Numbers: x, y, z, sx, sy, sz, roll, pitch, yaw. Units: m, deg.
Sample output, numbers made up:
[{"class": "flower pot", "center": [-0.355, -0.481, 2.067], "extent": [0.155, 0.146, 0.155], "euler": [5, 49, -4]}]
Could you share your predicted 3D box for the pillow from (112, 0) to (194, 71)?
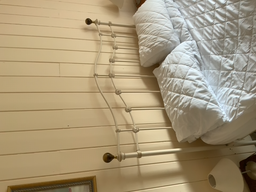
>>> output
[{"class": "pillow", "center": [0.250, -0.660, 1.970], "extent": [0.710, 0.470, 0.320], "euler": [-58, -4, -38]}]

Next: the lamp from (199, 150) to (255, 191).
[{"class": "lamp", "center": [0.710, 0.530, 1.460], "extent": [0.200, 0.300, 0.220], "euler": [115, 148, -52]}]
